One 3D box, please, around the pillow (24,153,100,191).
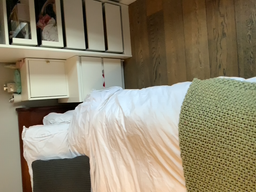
[{"bbox_3d":[-0.490,0.680,1.560,0.220,0.430,0.410,-8,64,50],"label":"pillow"}]
